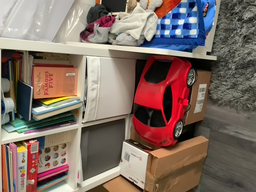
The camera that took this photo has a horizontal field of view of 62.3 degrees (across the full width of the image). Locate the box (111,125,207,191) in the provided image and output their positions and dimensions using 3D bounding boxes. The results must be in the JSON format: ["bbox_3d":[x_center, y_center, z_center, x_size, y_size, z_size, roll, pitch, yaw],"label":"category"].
[{"bbox_3d":[0.200,0.420,1.310,0.330,0.480,0.320,18,106,41],"label":"box"}]
